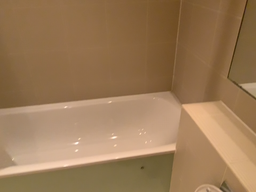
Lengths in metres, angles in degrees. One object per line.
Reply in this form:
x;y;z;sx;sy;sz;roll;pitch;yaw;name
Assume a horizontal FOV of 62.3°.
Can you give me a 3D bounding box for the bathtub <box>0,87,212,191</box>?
-0.370;0.430;1.620;1.690;0.580;0.680;-6;31;-9;bathtub
